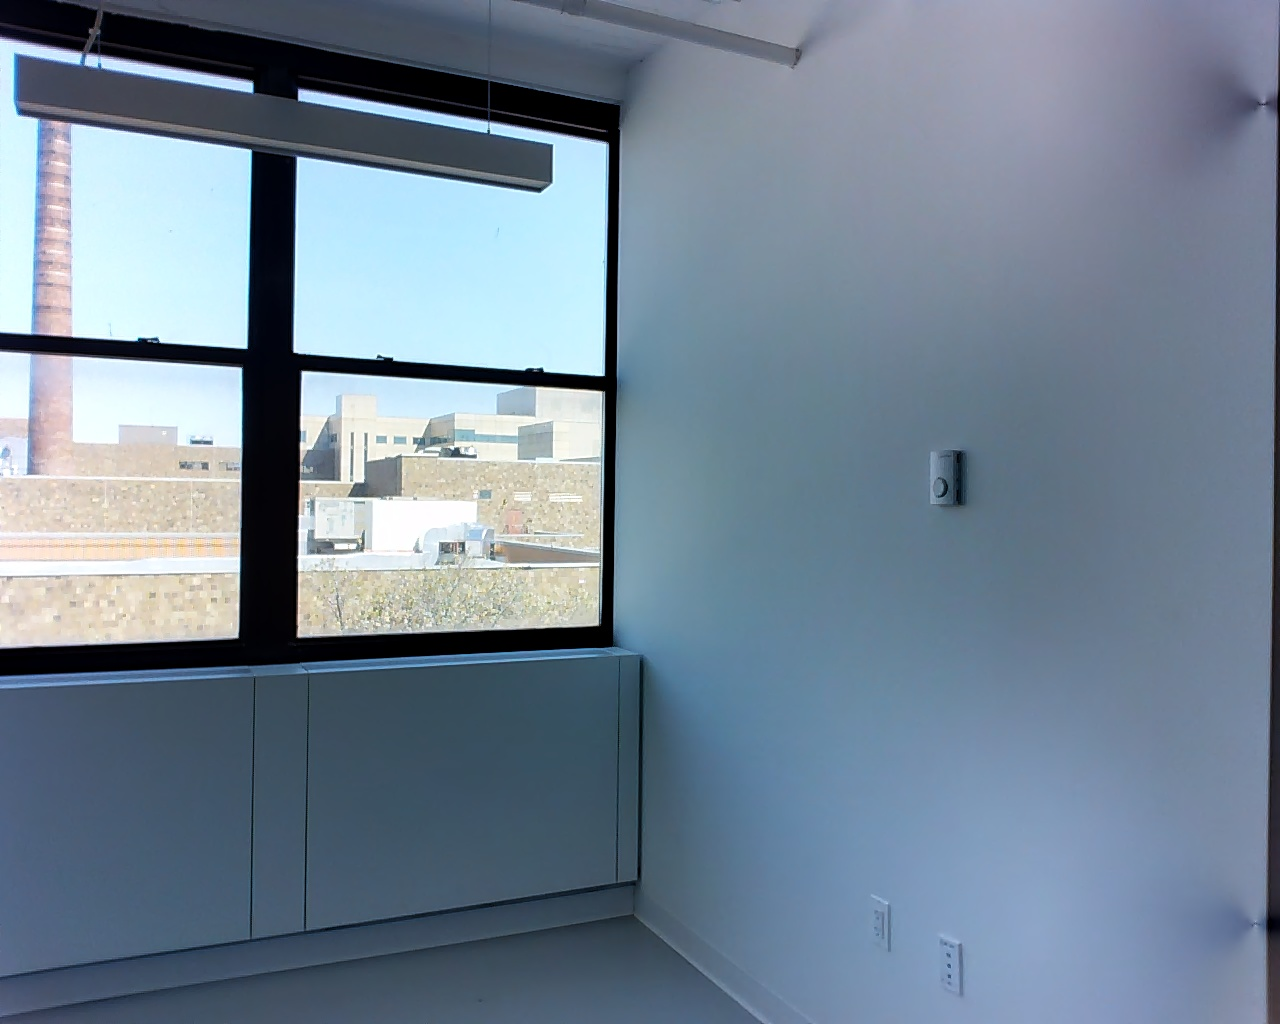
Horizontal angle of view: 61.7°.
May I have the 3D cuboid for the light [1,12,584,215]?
[{"bbox_3d":[-0.770,-0.920,2.570,1.300,0.200,0.180,1,0,-26],"label":"light"}]
